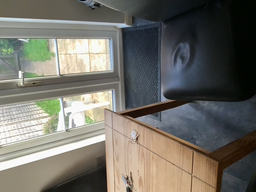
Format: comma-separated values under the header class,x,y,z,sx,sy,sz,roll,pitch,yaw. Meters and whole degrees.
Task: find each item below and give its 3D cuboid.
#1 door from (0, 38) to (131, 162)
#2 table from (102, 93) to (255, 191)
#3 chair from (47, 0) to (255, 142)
class,x,y,z,sx,sy,sz,roll,pitch,yaw
door,-0.850,0.000,2.030,0.060,2.080,1.070,14,109,54
table,0.390,0.680,1.390,0.830,0.760,1.190,16,111,53
chair,0.260,-0.290,1.030,0.470,1.100,0.660,4,101,55
